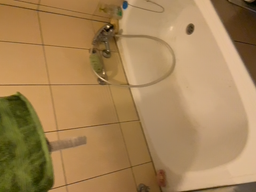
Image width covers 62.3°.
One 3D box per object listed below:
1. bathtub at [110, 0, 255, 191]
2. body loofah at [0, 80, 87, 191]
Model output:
[{"bbox_3d":[0.420,-0.150,1.250,0.680,0.550,1.160,-40,60,48],"label":"bathtub"},{"bbox_3d":[-0.410,0.230,0.660,0.410,0.390,0.410,-40,60,48],"label":"body loofah"}]
